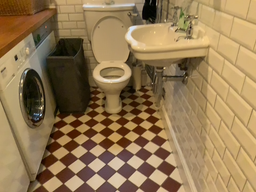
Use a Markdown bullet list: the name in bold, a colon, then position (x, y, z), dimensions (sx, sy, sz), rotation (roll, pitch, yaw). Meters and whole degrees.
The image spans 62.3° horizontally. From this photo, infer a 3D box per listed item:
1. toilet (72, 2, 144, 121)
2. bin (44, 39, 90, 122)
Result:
- **toilet**: position (-0.160, -0.350, 2.020), dimensions (0.500, 0.920, 0.690), rotation (-2, 31, -3)
- **bin**: position (-0.560, -0.180, 2.110), dimensions (0.240, 0.600, 0.630), rotation (-1, 31, -2)
